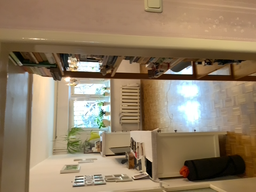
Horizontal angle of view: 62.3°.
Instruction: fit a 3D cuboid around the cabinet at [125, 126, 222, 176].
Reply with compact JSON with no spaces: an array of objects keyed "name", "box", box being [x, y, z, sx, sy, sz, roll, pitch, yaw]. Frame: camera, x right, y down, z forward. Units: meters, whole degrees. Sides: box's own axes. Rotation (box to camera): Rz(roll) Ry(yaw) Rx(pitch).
[{"name":"cabinet","box":[0.540,0.700,2.970,1.040,0.950,0.510,146,123,-74]}]
